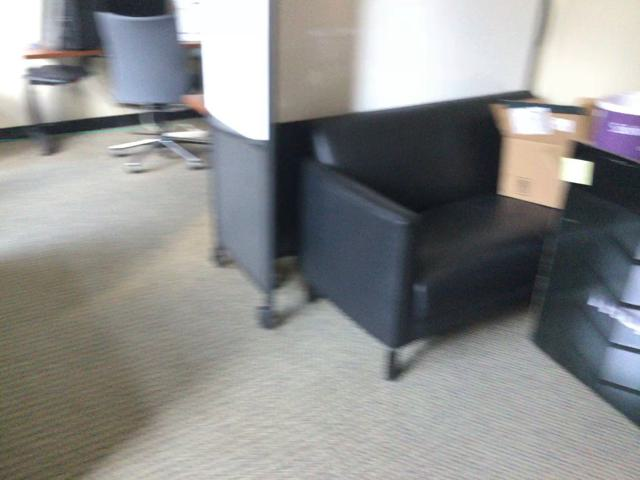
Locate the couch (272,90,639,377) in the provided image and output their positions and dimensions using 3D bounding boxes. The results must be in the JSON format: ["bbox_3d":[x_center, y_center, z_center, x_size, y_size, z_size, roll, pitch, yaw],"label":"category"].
[{"bbox_3d":[0.530,-0.140,2.260,1.180,0.640,0.890,-10,29,-25],"label":"couch"}]

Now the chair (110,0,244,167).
[{"bbox_3d":[-0.860,-1.080,3.770,0.680,0.970,0.860,0,26,-5],"label":"chair"}]

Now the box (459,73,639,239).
[{"bbox_3d":[1.030,-0.380,2.330,0.590,0.440,0.640,-10,28,-24],"label":"box"}]
